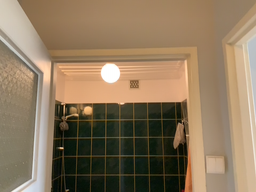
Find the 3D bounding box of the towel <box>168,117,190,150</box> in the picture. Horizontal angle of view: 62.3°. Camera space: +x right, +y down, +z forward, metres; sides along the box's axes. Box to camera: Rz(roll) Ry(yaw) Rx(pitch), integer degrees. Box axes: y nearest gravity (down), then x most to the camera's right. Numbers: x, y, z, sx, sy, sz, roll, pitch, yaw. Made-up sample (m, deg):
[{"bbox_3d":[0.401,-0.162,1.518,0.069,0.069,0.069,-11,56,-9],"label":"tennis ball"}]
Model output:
[{"bbox_3d":[0.700,0.510,2.940,0.210,0.430,0.230,0,-9,-5],"label":"towel"}]
